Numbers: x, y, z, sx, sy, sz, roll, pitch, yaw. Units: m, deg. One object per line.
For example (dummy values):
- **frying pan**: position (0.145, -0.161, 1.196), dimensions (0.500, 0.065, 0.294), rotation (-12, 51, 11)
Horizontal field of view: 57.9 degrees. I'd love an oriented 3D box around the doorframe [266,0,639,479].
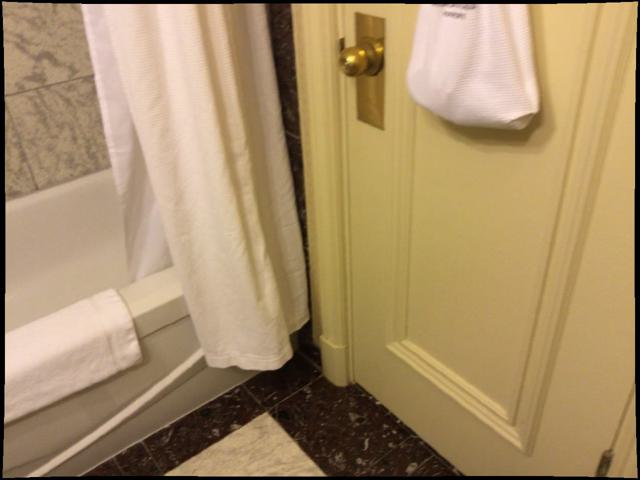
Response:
- **doorframe**: position (0.230, -0.350, 0.780), dimensions (0.070, 2.061, 1.030), rotation (-26, 43, -28)
